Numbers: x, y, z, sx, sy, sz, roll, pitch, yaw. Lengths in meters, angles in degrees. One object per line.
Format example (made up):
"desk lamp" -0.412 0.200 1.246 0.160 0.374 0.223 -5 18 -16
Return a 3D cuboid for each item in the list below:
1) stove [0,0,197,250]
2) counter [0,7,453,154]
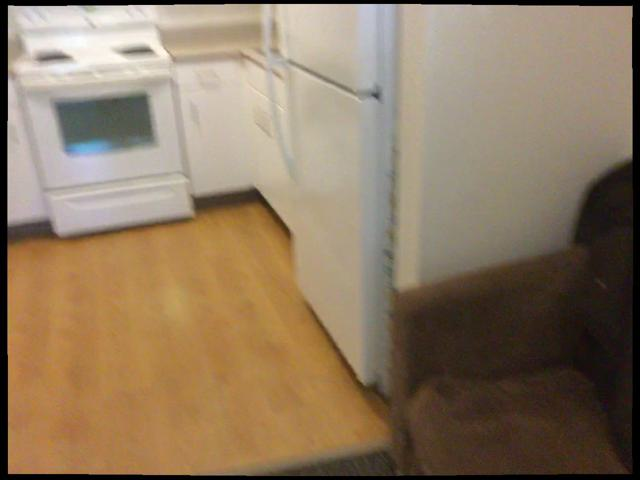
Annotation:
"stove" -1.258 -0.721 3.340 0.739 1.192 0.800 -14 30 -16
"counter" -0.769 -0.892 2.870 2.176 0.180 1.780 -12 29 -16
